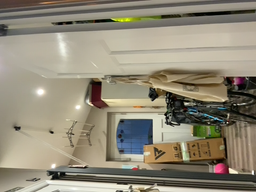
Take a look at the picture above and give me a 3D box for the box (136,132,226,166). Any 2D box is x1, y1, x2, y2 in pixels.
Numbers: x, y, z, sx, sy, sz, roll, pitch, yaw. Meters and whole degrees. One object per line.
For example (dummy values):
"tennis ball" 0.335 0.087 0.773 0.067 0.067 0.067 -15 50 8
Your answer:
"box" 0.900 0.960 3.810 0.530 1.430 0.460 70 -158 -66
